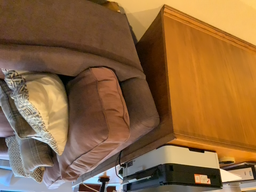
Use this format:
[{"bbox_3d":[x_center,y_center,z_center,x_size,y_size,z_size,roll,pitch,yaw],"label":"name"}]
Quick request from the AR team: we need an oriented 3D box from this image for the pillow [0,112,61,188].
[{"bbox_3d":[-0.850,0.480,1.780,0.240,0.420,0.680,42,143,1],"label":"pillow"}]

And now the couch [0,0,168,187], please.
[{"bbox_3d":[-0.660,0.090,1.520,1.030,0.840,1.710,12,149,-20],"label":"couch"}]
